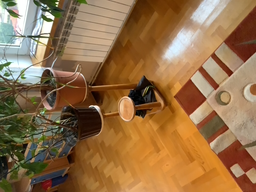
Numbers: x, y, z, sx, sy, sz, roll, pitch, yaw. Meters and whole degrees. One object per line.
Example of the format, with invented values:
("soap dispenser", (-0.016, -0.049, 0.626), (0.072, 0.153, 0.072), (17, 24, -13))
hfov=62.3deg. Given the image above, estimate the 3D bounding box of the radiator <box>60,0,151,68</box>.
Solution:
("radiator", (-0.250, -0.680, 2.170), (0.130, 0.650, 0.920), (58, 133, 28))
